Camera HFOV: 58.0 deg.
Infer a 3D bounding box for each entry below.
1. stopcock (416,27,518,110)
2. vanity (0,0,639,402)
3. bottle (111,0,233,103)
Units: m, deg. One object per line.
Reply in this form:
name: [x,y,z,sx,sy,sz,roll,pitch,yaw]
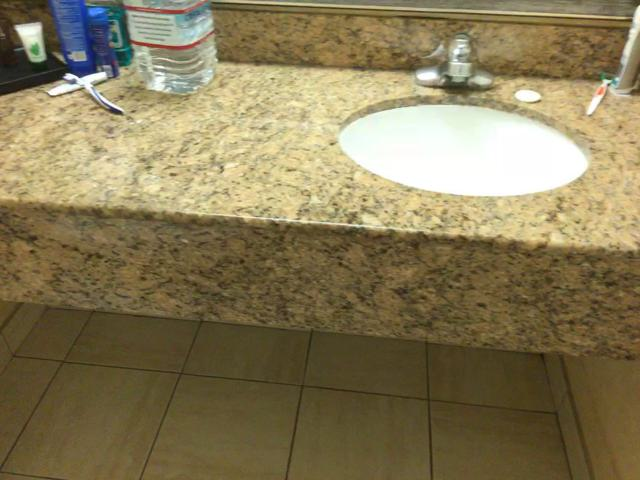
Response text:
stopcock: [0.270,-0.330,1.100,0.160,0.090,0.180,4,36,4]
vanity: [-0.130,-0.140,1.040,1.490,0.400,0.600,4,36,4]
bottle: [-0.270,-0.420,1.100,0.140,0.230,0.240,4,36,4]
